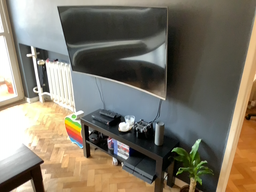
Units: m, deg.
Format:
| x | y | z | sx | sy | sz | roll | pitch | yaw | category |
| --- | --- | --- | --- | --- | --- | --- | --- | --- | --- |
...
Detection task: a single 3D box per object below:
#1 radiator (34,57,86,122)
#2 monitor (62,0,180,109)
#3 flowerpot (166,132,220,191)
| x | y | z | sx | sy | sz | roll | pitch | yaw | category |
| --- | --- | --- | --- | --- | --- | --- | --- | --- | --- |
| -0.980 | -0.130 | 3.040 | 0.890 | 0.690 | 0.230 | 20 | 26 | 36 | radiator |
| -0.160 | -0.400 | 1.750 | 1.110 | 0.640 | 0.080 | 26 | 34 | 31 | monitor |
| 0.480 | 0.590 | 1.620 | 0.290 | 0.530 | 0.160 | 20 | 30 | 37 | flowerpot |
